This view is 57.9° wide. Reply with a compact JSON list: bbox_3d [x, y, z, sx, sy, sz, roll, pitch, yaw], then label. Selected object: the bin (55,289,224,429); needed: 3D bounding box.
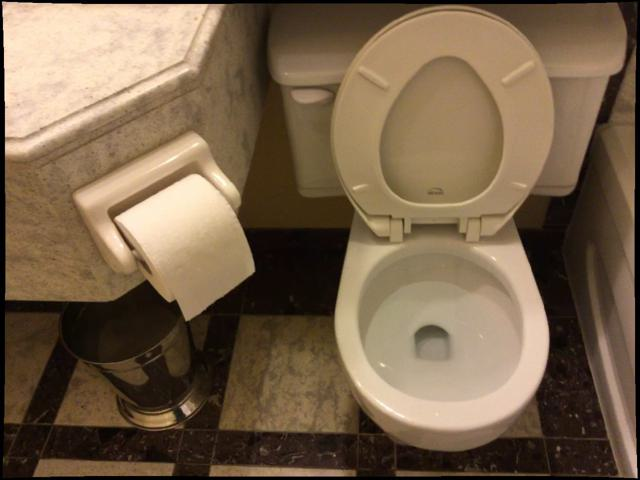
[{"bbox_3d":[-0.370,0.260,1.250,0.240,0.240,0.200,-2,48,7],"label":"bin"}]
